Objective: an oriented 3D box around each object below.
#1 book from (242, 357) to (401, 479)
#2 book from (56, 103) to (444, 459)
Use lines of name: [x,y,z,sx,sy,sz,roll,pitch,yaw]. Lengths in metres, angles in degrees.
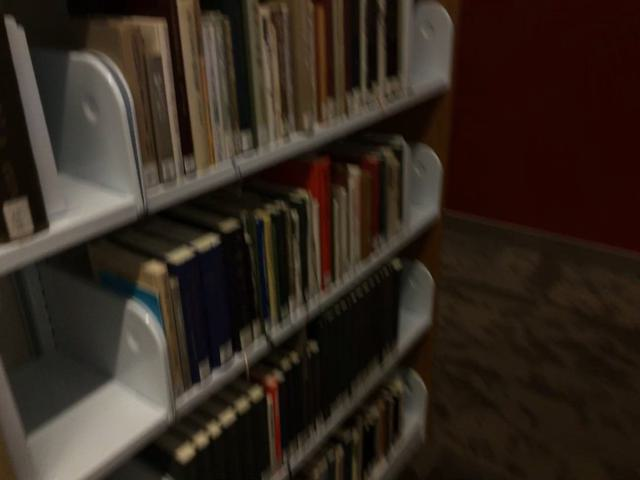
book: [-0.030,0.580,1.350,0.100,0.270,0.720,16,29,32]
book: [-0.040,-0.010,1.170,0.210,0.360,0.870,16,29,32]
